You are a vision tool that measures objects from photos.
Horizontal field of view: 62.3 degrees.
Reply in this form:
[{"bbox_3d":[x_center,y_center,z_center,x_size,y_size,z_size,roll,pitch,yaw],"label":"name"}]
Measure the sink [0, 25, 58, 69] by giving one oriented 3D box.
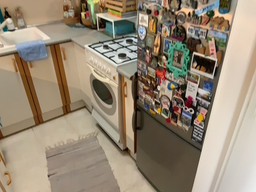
[{"bbox_3d":[-0.960,-0.480,1.980,0.410,0.190,0.490,-22,39,-28],"label":"sink"}]
